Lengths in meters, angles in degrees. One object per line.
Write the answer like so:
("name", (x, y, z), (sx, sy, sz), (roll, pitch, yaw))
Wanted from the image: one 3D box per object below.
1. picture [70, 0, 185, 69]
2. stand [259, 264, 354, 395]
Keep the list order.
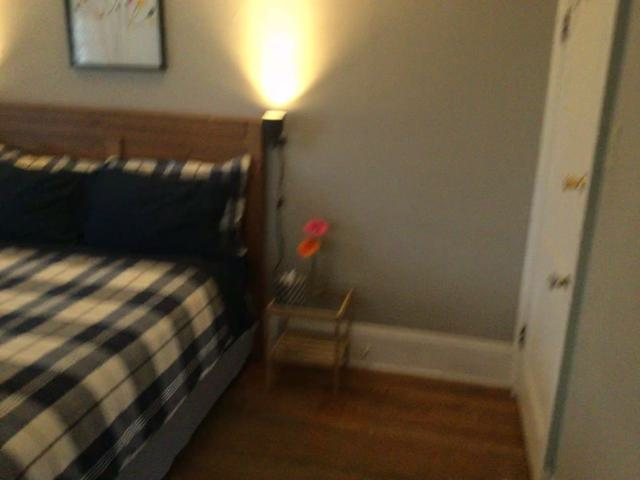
("picture", (-0.940, -1.220, 2.820), (0.540, 0.710, 0.130), (6, 15, 9))
("stand", (-0.060, 0.430, 2.910), (0.390, 0.490, 0.420), (4, 15, 10))
